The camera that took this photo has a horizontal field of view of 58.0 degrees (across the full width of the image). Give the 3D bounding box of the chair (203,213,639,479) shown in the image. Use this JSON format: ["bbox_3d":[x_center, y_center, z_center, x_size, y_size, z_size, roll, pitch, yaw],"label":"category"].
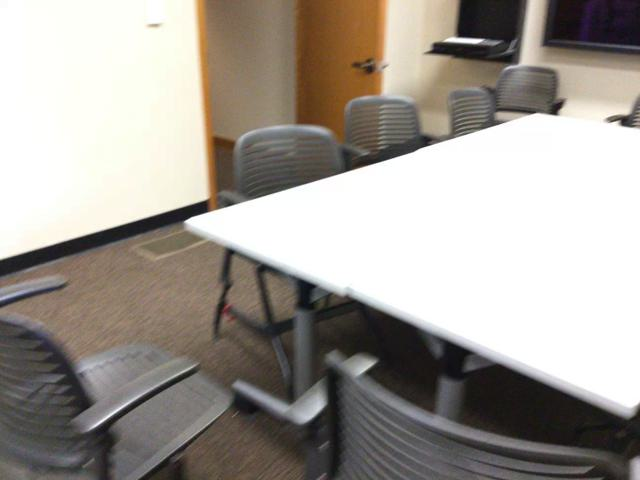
[{"bbox_3d":[0.220,0.490,1.130,0.600,0.860,0.580,14,25,28],"label":"chair"}]

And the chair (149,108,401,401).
[{"bbox_3d":[-0.150,-0.010,2.220,0.610,0.830,0.670,16,27,32],"label":"chair"}]

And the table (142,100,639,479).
[{"bbox_3d":[0.670,0.010,2.430,1.260,0.780,2.380,16,27,32],"label":"table"}]

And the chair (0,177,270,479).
[{"bbox_3d":[-0.550,0.390,1.300,0.620,0.850,0.620,14,26,28],"label":"chair"}]
